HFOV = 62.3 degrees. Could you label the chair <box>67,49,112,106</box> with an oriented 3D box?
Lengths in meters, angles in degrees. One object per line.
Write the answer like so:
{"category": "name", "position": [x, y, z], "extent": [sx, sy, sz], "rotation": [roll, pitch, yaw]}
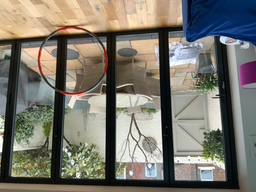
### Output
{"category": "chair", "position": [-0.790, -0.340, 4.370], "extent": [0.660, 0.980, 0.600], "rotation": [-7, 168, 35]}

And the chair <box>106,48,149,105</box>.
{"category": "chair", "position": [-0.010, -0.350, 4.360], "extent": [0.600, 0.980, 0.660], "rotation": [-8, 168, 37]}
